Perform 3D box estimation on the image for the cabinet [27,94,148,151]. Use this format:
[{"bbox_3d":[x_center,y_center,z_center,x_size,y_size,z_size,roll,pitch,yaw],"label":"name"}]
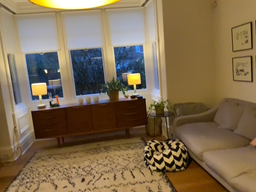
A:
[{"bbox_3d":[-0.730,0.480,4.170,2.150,0.780,0.470,-6,8,-7],"label":"cabinet"}]
